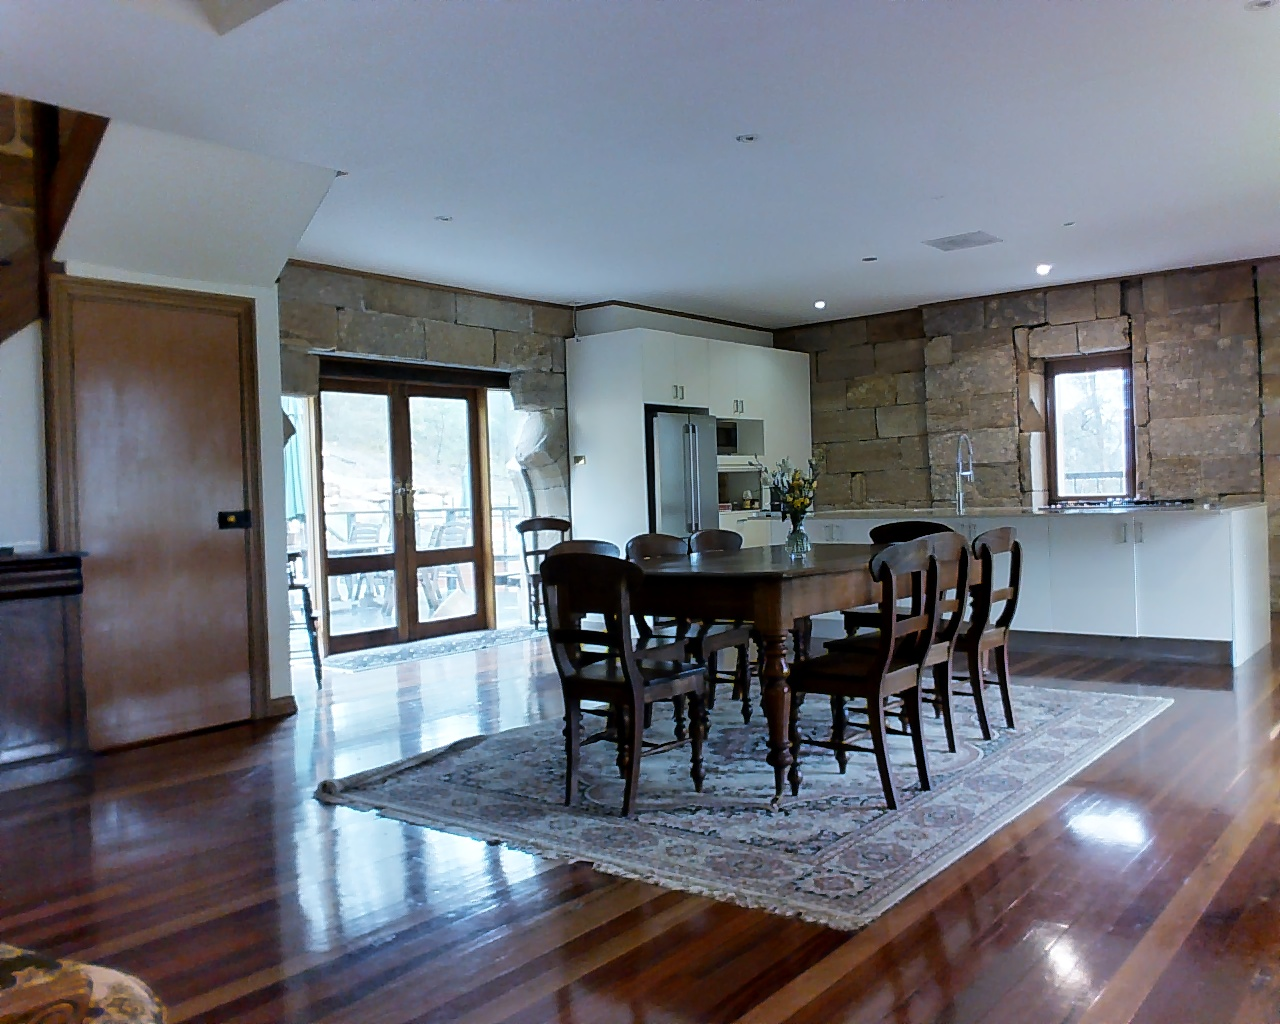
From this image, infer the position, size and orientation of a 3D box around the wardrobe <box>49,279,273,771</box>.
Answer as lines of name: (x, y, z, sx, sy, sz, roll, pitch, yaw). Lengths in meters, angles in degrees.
wardrobe: (-2.269, 0.060, 5.190, 0.150, 2.171, 1.010, -2, -2, 41)
